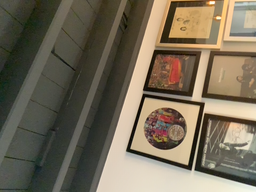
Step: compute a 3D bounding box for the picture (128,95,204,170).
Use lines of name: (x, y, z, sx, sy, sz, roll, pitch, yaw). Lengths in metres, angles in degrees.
picture: (0.250, 0.220, 1.420, 0.030, 0.430, 0.420, 42, -121, -61)

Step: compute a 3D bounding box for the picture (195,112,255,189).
picture: (0.600, 0.300, 1.230, 0.020, 0.350, 0.370, 42, -121, -61)
